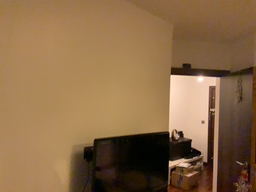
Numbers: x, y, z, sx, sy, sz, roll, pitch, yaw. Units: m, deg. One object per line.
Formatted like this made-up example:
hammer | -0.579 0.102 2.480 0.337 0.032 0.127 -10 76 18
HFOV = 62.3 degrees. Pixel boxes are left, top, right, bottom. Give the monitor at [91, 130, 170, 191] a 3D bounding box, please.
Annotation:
monitor | 0.060 0.570 1.620 0.760 0.550 0.060 3 -1 -44
